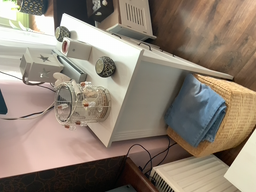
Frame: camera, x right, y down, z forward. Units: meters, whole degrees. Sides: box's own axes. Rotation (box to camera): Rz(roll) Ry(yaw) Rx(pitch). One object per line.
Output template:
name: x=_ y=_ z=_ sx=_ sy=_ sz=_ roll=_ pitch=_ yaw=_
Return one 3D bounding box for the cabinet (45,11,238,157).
cabinet: x=0.080 y=-0.110 z=1.470 sx=0.800 sy=0.940 sz=0.510 roll=38 pitch=115 yaw=42
